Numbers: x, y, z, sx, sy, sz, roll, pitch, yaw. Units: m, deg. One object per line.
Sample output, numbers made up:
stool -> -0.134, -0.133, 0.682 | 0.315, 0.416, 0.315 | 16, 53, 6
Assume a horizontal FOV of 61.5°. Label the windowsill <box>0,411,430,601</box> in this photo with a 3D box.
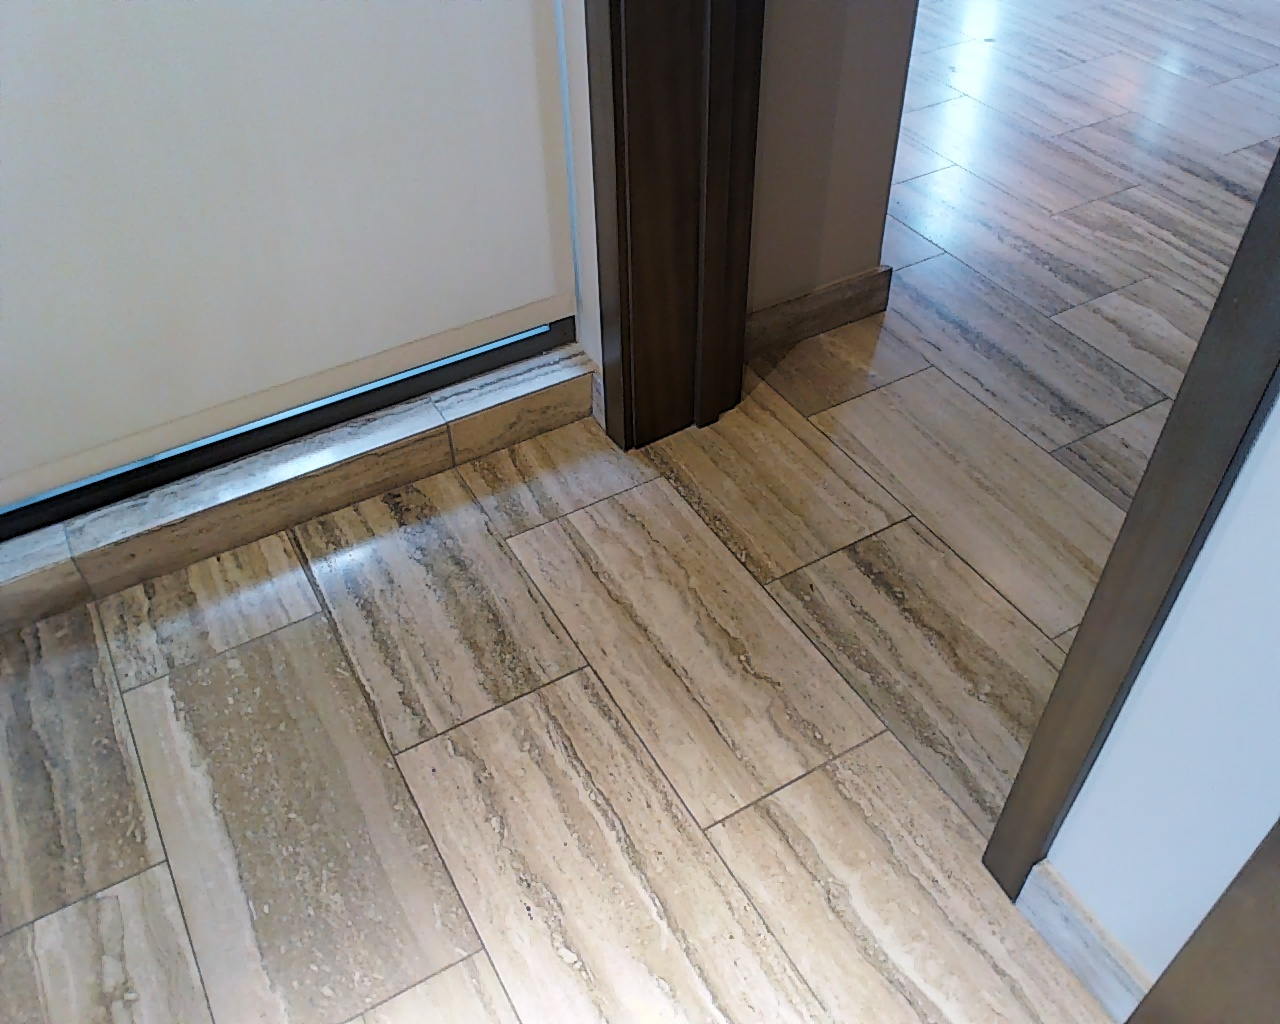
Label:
windowsill -> -0.920, 0.080, 1.640 | 1.250, 0.020, 0.080 | -23, 47, -21
